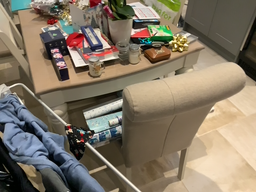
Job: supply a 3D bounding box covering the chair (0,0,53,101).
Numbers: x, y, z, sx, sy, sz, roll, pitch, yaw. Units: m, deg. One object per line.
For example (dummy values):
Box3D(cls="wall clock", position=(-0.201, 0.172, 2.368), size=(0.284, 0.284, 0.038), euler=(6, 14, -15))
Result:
Box3D(cls="chair", position=(-1.130, -0.480, 1.790), size=(0.670, 0.920, 0.490), euler=(-18, 47, -19))
